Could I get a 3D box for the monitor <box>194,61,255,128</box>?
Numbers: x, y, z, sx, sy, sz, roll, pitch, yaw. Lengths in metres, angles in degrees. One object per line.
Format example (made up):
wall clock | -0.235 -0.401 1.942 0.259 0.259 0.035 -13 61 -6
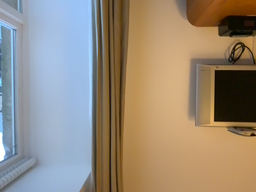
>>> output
monitor | 0.760 0.000 1.250 0.700 0.370 0.040 3 -177 1
